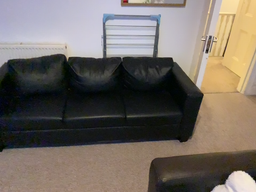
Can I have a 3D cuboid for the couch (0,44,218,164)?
[{"bbox_3d":[-0.350,-0.010,2.170,1.980,0.720,1.020,-1,32,-8],"label":"couch"}]
